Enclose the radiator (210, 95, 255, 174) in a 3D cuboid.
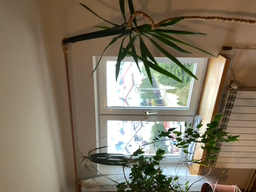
[{"bbox_3d":[1.320,0.440,2.270,0.130,0.650,0.920,-95,7,-65],"label":"radiator"}]
